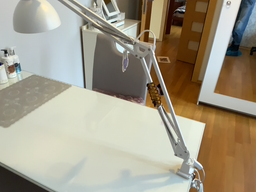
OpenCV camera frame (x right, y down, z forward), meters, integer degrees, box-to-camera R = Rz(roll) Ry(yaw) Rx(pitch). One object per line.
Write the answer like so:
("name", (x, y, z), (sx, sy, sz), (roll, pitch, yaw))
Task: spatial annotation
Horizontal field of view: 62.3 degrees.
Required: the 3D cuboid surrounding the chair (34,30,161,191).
("chair", (-0.150, 0.190, 1.320), (0.420, 1.020, 0.500), (18, 34, 22))
